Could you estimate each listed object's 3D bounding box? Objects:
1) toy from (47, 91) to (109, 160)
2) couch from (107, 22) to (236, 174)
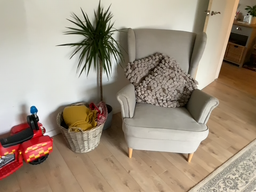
[{"bbox_3d":[-0.460,0.250,1.960,0.440,0.380,0.400,-13,34,-26],"label":"toy"},{"bbox_3d":[0.280,-0.050,2.010,0.800,1.000,1.000,5,30,2],"label":"couch"}]
